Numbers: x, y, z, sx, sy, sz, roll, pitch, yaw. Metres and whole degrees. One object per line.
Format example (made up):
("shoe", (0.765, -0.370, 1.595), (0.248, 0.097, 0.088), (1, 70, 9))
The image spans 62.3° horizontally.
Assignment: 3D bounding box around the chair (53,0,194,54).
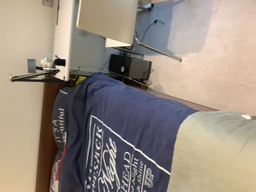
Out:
("chair", (-0.030, -0.600, 1.570), (0.510, 0.850, 0.410), (24, 108, 53))
